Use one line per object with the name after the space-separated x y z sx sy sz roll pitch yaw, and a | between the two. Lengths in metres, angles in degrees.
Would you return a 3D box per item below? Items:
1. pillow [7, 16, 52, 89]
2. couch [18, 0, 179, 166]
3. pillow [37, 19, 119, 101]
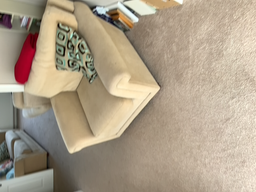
-1.000 -0.420 2.110 0.460 0.230 0.530 51 128 34 | pillow
-0.390 -0.120 2.050 1.170 0.870 0.930 -52 55 38 | couch
-0.420 -0.280 1.800 0.480 0.430 0.270 -37 43 22 | pillow
